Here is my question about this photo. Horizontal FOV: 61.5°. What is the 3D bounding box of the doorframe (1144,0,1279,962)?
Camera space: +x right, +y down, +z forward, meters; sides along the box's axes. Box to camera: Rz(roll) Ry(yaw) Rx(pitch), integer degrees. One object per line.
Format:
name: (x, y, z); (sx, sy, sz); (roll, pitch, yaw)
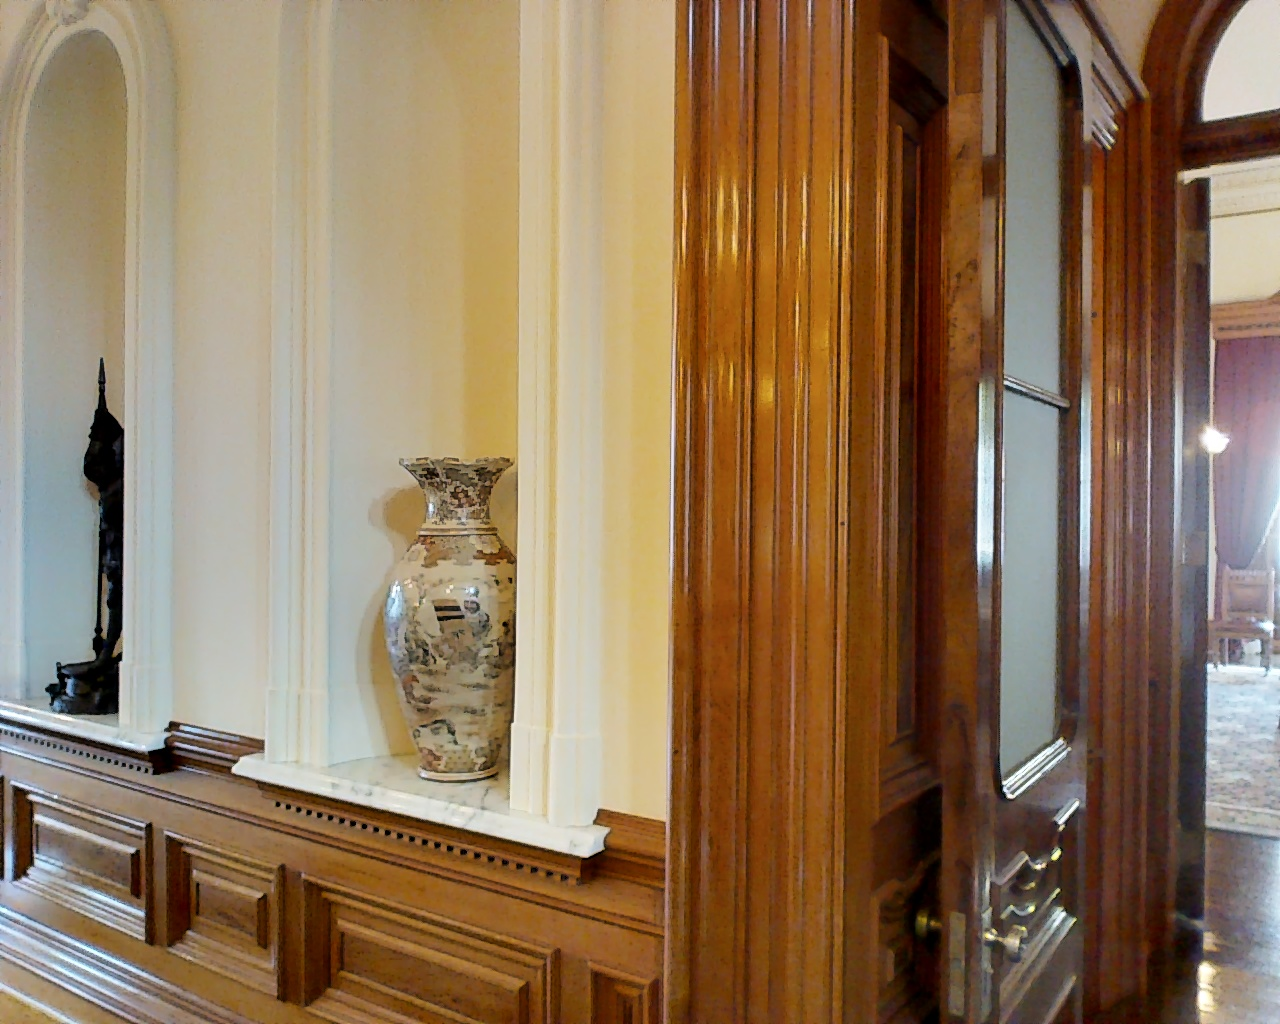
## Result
doorframe: (2.520, -0.530, 3.720); (1.310, 4.131, 0.500); (1, 1, 34)

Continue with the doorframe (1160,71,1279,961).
doorframe: (2.530, 0.020, 3.710); (1.270, 3.090, 0.310); (1, 1, 35)
